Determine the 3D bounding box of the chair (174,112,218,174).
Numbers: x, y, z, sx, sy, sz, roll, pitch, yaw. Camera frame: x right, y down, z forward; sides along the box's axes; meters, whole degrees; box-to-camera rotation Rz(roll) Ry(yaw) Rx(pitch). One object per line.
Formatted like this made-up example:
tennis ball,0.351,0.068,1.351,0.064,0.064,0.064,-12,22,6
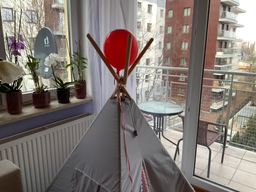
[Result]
chair,0.830,0.540,2.570,0.380,0.560,0.410,9,15,29

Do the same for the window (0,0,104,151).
window,-0.940,-0.510,1.680,0.430,1.730,1.670,12,17,38
